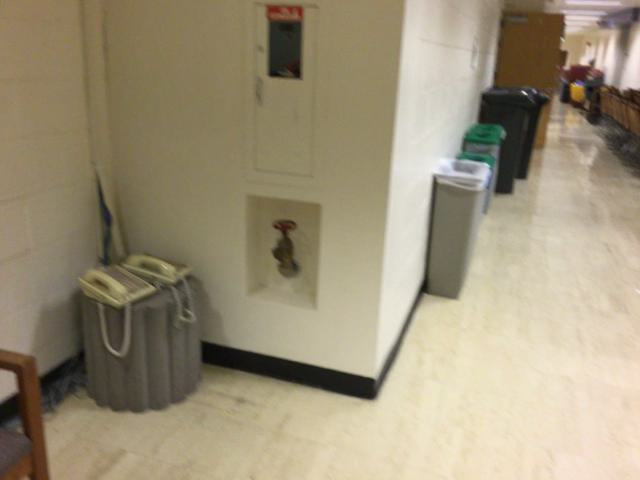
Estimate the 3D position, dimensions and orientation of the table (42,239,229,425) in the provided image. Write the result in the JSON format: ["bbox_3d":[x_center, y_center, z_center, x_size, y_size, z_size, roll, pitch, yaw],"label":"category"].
[{"bbox_3d":[-0.720,0.340,2.360,0.530,0.540,0.470,6,16,17],"label":"table"}]
